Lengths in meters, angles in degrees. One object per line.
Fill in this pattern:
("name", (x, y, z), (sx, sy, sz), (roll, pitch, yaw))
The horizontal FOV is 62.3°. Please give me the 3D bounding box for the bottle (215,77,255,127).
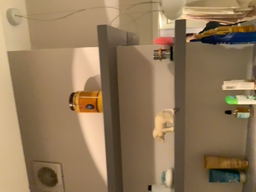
("bottle", (0.420, 0.020, 0.790), (0.070, 0.160, 0.170), (-44, -47, -74))
